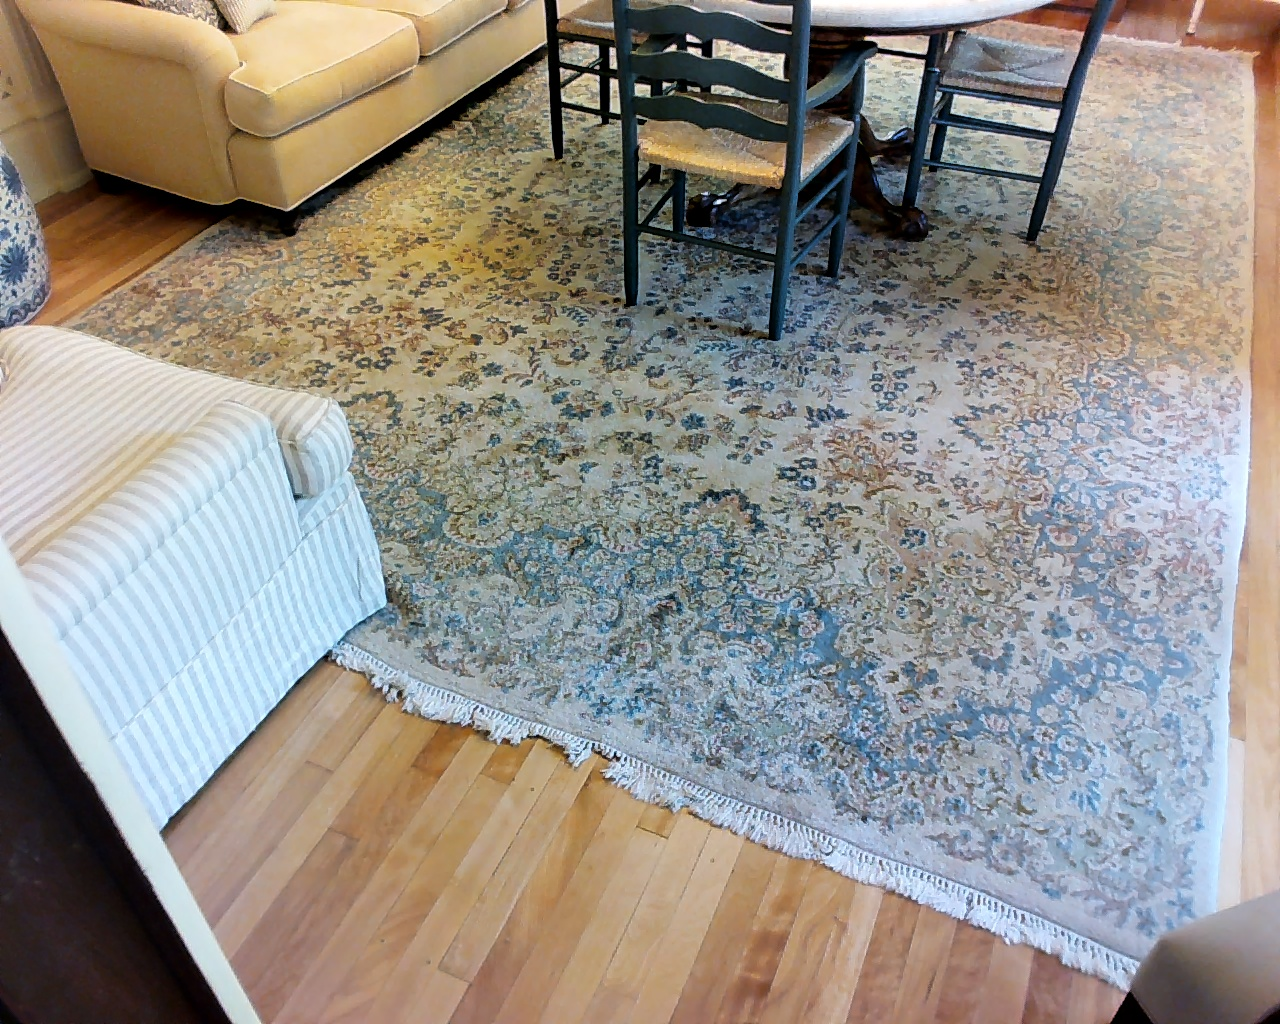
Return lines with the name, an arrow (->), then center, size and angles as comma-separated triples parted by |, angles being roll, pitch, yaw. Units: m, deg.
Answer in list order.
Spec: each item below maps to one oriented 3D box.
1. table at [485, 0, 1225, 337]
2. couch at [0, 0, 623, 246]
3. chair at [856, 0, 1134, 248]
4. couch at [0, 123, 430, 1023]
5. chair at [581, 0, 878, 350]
table -> 0.510, -1.430, 3.330 | 1.610, 0.790, 1.540 | -15, 44, -16
couch -> -1.020, -1.990, 3.870 | 1.070, 0.930, 2.290 | 17, 44, 17
chair -> 1.090, -1.450, 3.150 | 0.630, 1.070, 0.570 | 17, 44, 17
couch -> -1.060, 0.010, 1.750 | 0.890, 0.790, 1.080 | 17, 44, 17
chair -> 0.230, -1.060, 2.710 | 0.560, 1.060, 0.550 | 17, 44, 17
